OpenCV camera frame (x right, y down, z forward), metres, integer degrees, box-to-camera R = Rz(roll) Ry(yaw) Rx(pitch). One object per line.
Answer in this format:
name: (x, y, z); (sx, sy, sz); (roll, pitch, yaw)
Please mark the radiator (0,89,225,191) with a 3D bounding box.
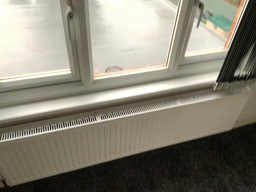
radiator: (-0.050, 0.280, 1.350); (1.360, 0.500, 0.070); (-10, 44, -16)
